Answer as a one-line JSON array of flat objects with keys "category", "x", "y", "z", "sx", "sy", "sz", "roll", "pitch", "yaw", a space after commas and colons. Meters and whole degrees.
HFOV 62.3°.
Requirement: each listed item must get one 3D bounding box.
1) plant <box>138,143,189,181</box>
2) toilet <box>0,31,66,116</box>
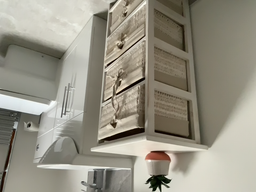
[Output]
[{"category": "plant", "x": 0.140, "y": 0.270, "z": 0.860, "sx": 0.150, "sy": 0.130, "sz": 0.130, "roll": 15, "pitch": 156, "yaw": -32}, {"category": "toilet", "x": -0.830, "y": -0.140, "z": 1.700, "sx": 0.490, "sy": 0.450, "sz": 0.400, "roll": 15, "pitch": 156, "yaw": -31}]
